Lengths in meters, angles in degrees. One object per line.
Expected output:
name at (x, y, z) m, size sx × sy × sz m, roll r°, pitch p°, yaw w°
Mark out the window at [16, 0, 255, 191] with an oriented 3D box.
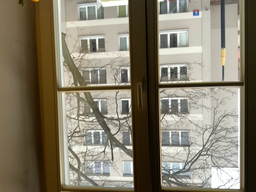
window at (0.100, 0.240, 1.060) m, size 1.200 × 1.840 × 0.180 m, roll -1°, pitch -176°, yaw 6°
